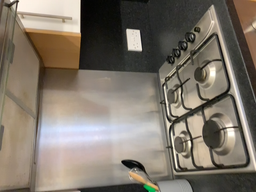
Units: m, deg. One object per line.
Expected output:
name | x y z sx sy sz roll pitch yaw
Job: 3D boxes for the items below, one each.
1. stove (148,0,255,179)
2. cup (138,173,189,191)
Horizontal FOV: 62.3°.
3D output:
stove | 0.240 0.030 0.900 0.590 0.030 0.590 126 142 -63
cup | 0.150 0.420 0.920 0.190 0.150 0.140 126 142 -63
